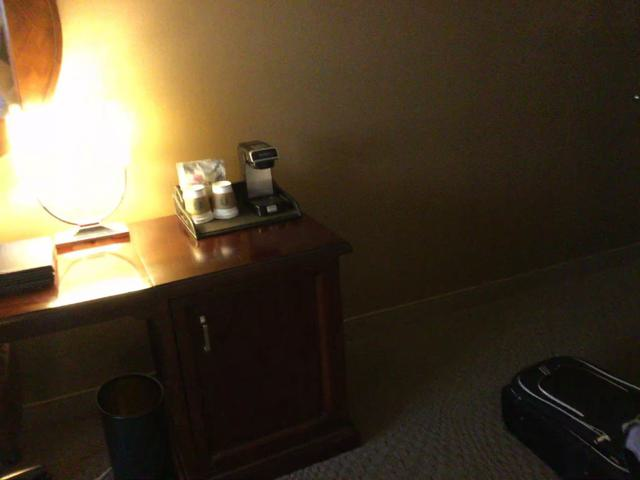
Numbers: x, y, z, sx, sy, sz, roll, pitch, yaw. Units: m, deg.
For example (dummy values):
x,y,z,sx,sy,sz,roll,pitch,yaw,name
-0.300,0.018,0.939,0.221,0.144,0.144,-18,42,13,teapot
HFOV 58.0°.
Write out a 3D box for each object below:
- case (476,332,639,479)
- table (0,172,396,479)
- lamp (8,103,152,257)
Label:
x,y,z,sx,sy,sz,roll,pitch,yaw,name
0.930,0.590,1.890,0.510,0.250,0.630,-10,19,-26,case
-0.930,0.390,1.810,2.180,0.860,0.900,-10,19,-26,table
-0.790,-0.220,1.900,0.350,0.420,0.360,-10,19,-26,lamp
